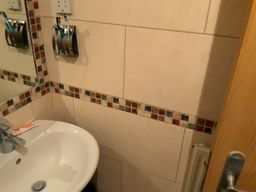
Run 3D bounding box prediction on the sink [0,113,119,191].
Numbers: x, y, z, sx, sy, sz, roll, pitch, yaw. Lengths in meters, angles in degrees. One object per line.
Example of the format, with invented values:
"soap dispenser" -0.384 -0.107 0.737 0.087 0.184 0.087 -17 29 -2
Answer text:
"sink" -0.370 0.340 0.910 0.450 0.190 0.570 13 29 20
